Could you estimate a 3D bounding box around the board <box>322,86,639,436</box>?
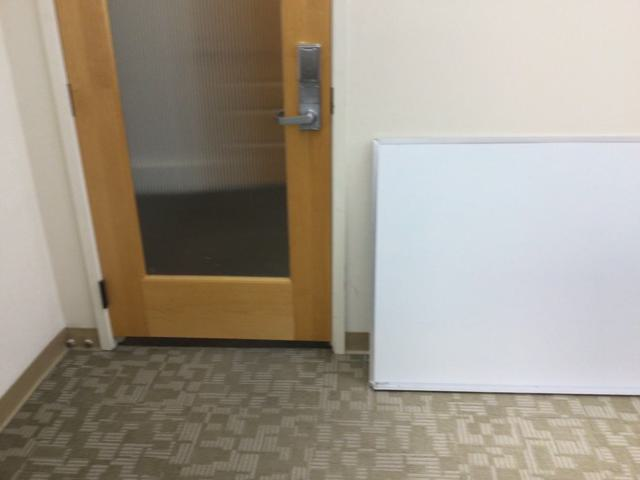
[{"bbox_3d":[0.730,0.100,1.940,1.190,0.910,0.210,-19,23,11],"label":"board"}]
